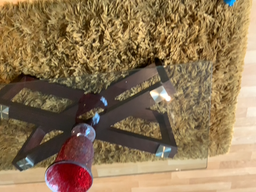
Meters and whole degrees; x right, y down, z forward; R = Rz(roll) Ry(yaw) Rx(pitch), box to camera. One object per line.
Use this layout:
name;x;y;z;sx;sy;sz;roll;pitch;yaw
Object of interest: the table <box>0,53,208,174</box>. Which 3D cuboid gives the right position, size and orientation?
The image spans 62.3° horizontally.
table;-0.180;0.080;1.030;0.980;0.320;0.430;-4;117;2
